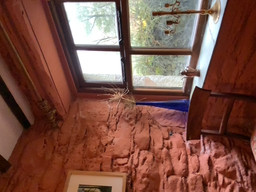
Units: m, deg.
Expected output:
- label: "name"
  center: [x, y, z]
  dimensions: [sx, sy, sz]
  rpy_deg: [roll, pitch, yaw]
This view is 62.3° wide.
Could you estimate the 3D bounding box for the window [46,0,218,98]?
- label: "window"
  center: [0.030, -0.350, 1.630]
  dimensions: [0.940, 1.050, 0.110]
  rpy_deg: [87, -175, -47]
